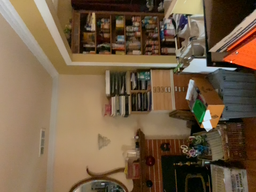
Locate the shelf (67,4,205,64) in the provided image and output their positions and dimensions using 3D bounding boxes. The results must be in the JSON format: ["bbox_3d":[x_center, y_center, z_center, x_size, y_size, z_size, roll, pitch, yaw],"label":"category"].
[{"bbox_3d":[0.140,-1.020,3.550,0.290,2.180,0.870,115,155,-77],"label":"shelf"}]
